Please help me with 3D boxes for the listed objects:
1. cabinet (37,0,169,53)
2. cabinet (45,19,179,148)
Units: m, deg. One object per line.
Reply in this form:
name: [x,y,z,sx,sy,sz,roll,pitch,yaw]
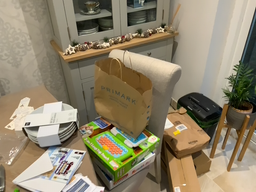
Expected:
cabinet: [-0.170,-0.950,1.510,0.960,1.010,0.350,-20,39,-25]
cabinet: [-0.110,-0.160,2.010,1.010,0.850,0.470,-20,39,-25]
